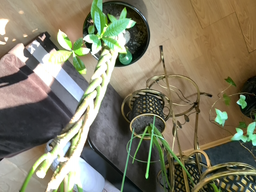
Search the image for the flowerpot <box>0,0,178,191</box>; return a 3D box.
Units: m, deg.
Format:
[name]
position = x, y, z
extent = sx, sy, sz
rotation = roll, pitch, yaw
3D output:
[flowerpot]
position = -0.050, -0.030, 0.750
extent = 0.280, 1.420, 0.280
rotation = -20, 123, 18
